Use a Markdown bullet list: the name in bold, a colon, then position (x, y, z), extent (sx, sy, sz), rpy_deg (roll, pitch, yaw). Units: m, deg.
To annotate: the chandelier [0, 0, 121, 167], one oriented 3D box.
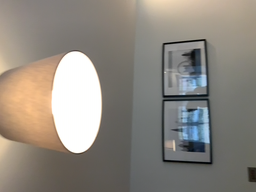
- **chandelier**: position (-0.290, -0.020, 0.610), extent (0.320, 0.430, 0.330), rpy_deg (66, 27, -56)
